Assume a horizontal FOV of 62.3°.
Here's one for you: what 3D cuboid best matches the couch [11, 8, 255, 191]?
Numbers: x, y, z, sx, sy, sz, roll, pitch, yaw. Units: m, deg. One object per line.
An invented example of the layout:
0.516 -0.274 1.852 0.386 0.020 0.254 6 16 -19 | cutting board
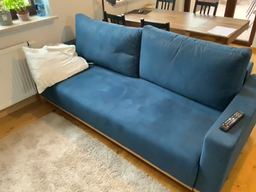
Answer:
0.000 -0.150 2.010 2.130 0.910 0.950 24 41 34 | couch
